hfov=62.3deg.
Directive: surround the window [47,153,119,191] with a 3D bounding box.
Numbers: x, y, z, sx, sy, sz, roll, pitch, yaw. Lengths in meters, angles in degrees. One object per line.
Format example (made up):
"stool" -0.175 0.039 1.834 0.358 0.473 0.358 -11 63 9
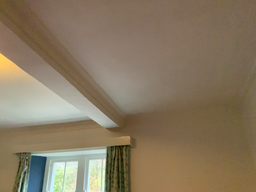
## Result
"window" -0.780 1.590 3.600 1.310 1.120 0.100 -8 -26 16
